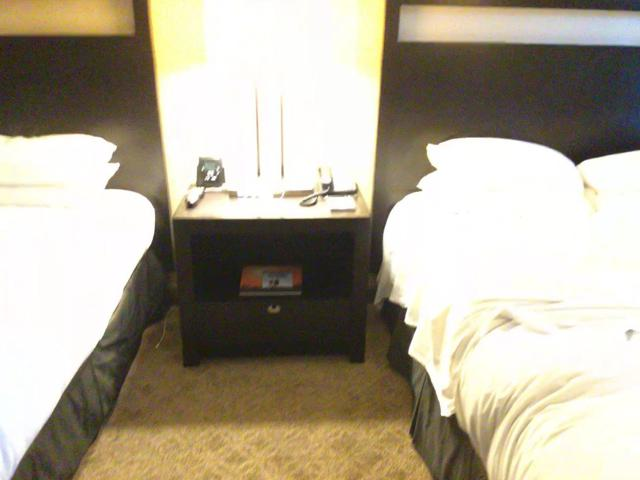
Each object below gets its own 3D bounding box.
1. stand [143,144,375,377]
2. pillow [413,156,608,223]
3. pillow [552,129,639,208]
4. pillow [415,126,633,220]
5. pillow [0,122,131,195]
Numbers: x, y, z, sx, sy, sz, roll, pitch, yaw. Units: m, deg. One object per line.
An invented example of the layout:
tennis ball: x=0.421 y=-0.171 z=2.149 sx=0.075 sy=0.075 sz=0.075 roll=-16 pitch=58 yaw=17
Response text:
stand: x=-0.220 y=0.060 z=2.500 sx=0.830 sy=0.810 sz=0.570 roll=-3 pitch=19 yaw=-2
pillow: x=0.750 y=-0.220 z=2.390 sx=0.650 sy=0.140 sz=0.440 roll=-3 pitch=19 yaw=-2
pillow: x=1.340 y=-0.310 z=2.330 sx=0.580 sy=0.190 sz=0.520 roll=-3 pitch=19 yaw=-2
pillow: x=0.800 y=-0.290 z=2.390 sx=0.730 sy=0.260 sz=0.420 roll=-3 pitch=19 yaw=-2
pillow: x=-1.120 y=-0.330 z=2.310 sx=0.600 sy=0.200 sz=0.370 roll=-3 pitch=19 yaw=-2
